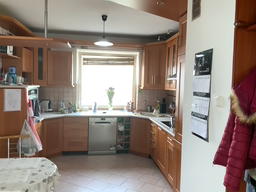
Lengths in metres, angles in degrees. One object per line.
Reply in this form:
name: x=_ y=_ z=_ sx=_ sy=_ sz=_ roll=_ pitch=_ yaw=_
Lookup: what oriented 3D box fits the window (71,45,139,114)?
window: x=-0.550 y=-0.370 z=5.160 sx=1.570 sy=1.580 sz=0.260 roll=1 pitch=4 yaw=-9
